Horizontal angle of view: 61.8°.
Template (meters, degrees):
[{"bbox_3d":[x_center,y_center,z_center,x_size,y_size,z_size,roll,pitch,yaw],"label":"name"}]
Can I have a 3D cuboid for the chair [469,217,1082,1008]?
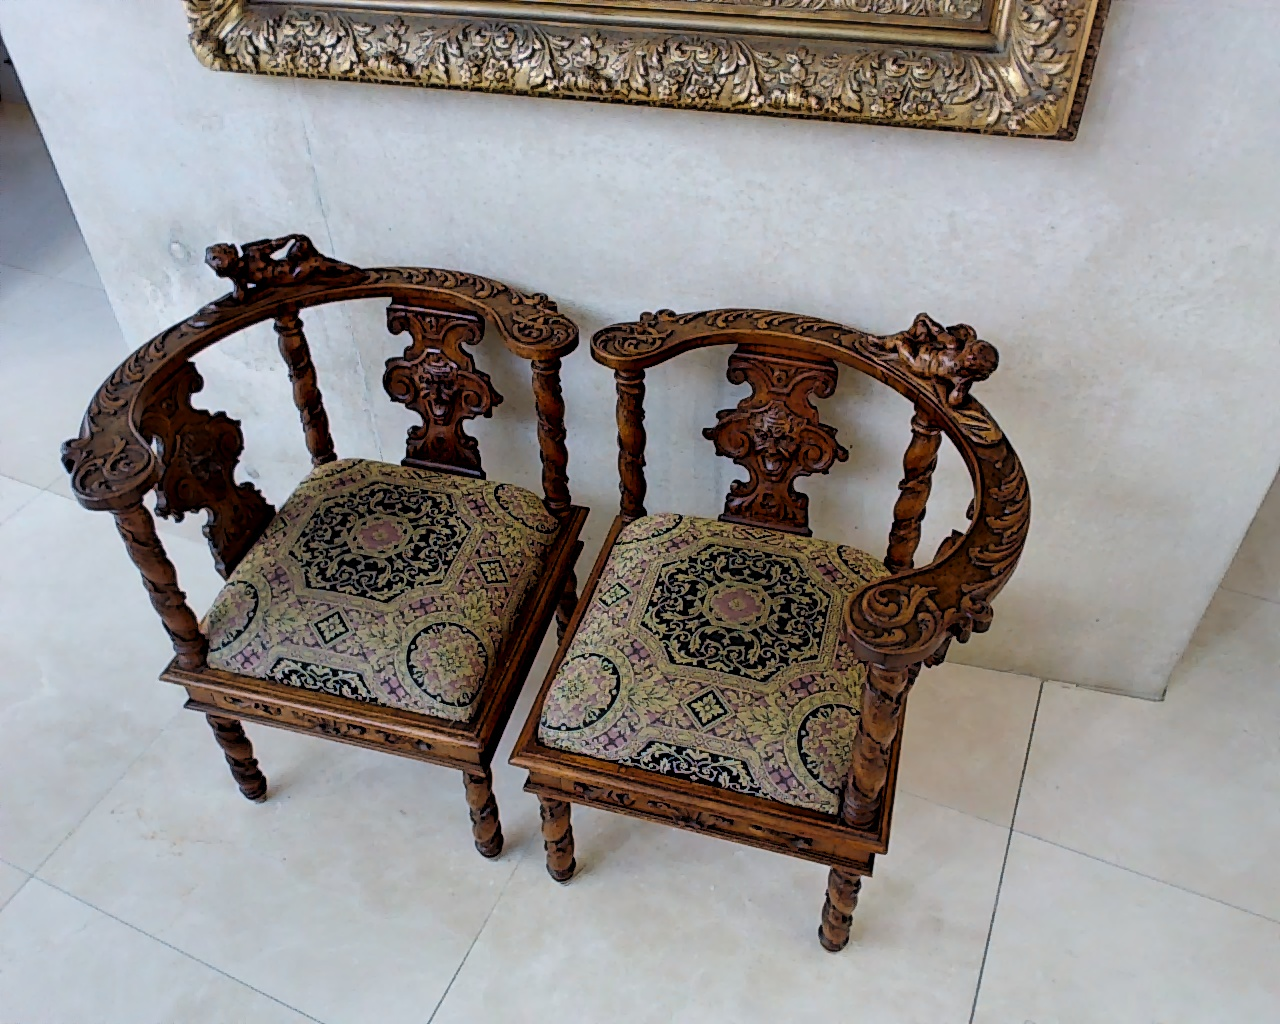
[{"bbox_3d":[0.200,0.140,1.510,0.580,0.820,0.640,9,44,11],"label":"chair"}]

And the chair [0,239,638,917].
[{"bbox_3d":[-0.400,0.090,1.660,0.630,0.720,0.620,10,44,13],"label":"chair"}]
